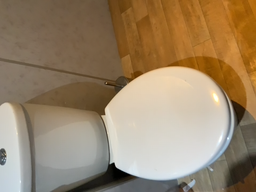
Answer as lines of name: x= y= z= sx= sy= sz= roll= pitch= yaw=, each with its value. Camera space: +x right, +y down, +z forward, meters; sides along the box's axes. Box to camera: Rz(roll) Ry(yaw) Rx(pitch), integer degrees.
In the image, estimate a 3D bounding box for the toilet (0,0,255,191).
toilet: x=0.040 y=0.120 z=0.800 sx=0.660 sy=0.800 sz=0.380 roll=-22 pitch=72 yaw=35
